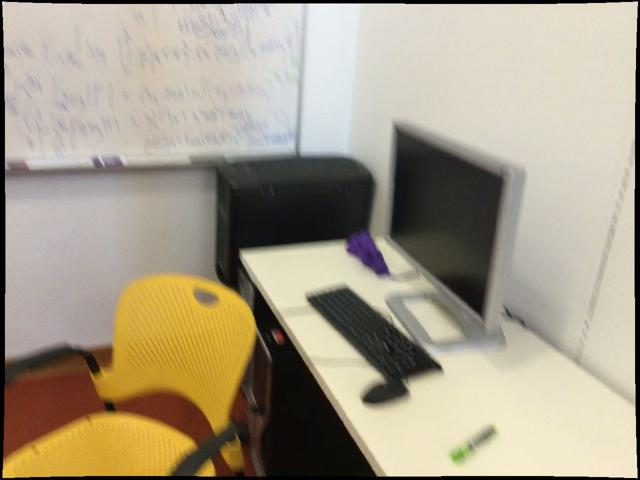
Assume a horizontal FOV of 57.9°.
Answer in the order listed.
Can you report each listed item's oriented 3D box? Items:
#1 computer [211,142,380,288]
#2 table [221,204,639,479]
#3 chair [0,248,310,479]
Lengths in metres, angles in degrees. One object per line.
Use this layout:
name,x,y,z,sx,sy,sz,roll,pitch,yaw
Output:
computer,-0.120,-0.120,2.370,0.589,0.490,0.320,-4,24,-21
table,0.260,0.561,1.500,0.689,0.791,1.600,-4,24,-21
chair,-0.410,0.531,1.390,0.490,0.751,0.680,13,24,19
